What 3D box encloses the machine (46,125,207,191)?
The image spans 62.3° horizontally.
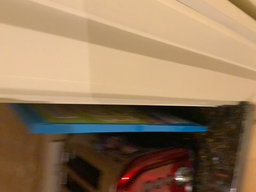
[{"bbox_3d":[-0.020,0.240,0.440,0.230,0.220,0.300,11,96,49],"label":"machine"}]
